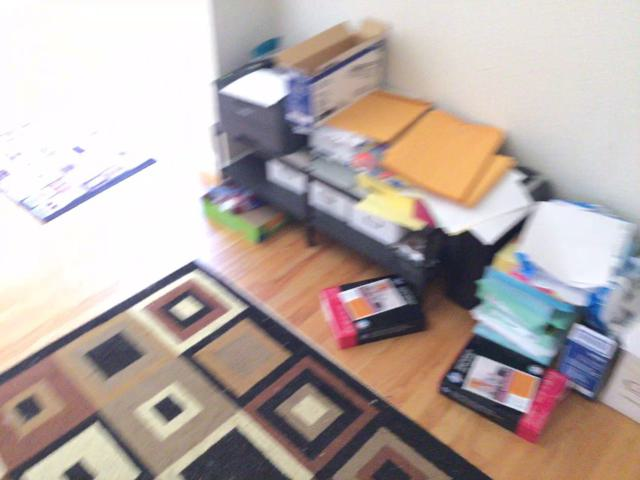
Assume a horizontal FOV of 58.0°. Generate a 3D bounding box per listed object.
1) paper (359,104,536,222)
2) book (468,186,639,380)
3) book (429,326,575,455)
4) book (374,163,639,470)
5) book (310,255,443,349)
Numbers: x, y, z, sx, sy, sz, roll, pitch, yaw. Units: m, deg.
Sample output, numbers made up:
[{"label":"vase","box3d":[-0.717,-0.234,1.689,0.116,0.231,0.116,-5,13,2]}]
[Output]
[{"label":"paper","box3d":[0.380,-0.250,1.740,0.380,0.100,0.360,-31,49,-34]},{"label":"book","box3d":[0.680,0.110,1.650,0.340,0.330,0.310,-31,49,-34]},{"label":"book","box3d":[0.500,0.400,1.590,0.310,0.060,0.250,24,44,26]},{"label":"book","box3d":[0.580,0.160,1.630,0.600,0.380,0.570,-31,49,-34]},{"label":"book","box3d":[0.170,0.190,1.850,0.350,0.090,0.260,-9,40,-13]}]
